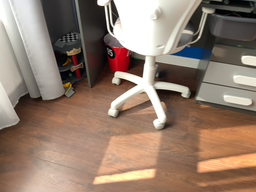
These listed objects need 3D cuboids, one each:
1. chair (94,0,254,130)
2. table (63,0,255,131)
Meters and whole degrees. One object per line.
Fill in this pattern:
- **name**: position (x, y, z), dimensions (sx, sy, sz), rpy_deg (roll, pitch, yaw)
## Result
- **chair**: position (0.170, -0.310, 1.160), dimensions (0.550, 0.840, 0.560), rpy_deg (4, 45, 2)
- **table**: position (0.340, -0.340, 1.260), dimensions (1.200, 0.750, 0.550), rpy_deg (11, 46, 10)
